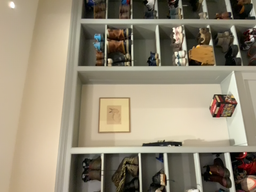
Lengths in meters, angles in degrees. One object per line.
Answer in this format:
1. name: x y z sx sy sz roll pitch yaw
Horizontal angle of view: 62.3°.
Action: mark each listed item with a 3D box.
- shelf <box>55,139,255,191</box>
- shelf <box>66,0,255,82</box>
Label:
1. shelf: 0.460 1.090 1.960 0.330 2.190 1.300 94 175 -71
2. shelf: 0.430 -0.840 2.630 0.340 2.190 1.270 94 175 -71
